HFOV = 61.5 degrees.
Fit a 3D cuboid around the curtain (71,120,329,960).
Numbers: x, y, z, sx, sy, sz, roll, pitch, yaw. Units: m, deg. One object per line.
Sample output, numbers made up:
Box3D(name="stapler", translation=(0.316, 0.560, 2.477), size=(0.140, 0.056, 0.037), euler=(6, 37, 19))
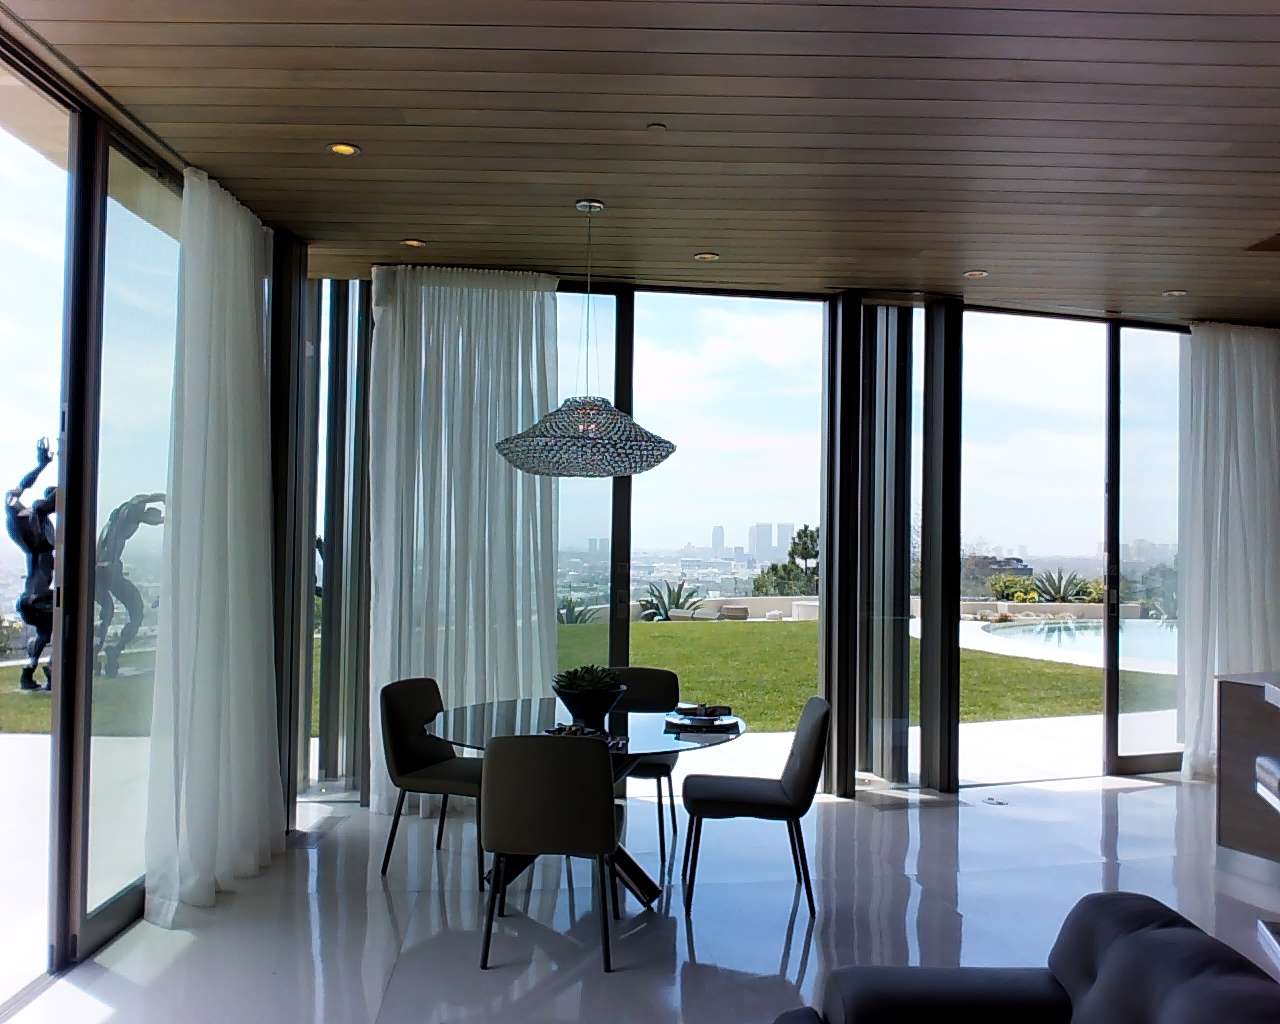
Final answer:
Box3D(name="curtain", translation=(-1.860, 0.110, 4.830), size=(0.270, 3.040, 1.860), euler=(1, -2, 2))
